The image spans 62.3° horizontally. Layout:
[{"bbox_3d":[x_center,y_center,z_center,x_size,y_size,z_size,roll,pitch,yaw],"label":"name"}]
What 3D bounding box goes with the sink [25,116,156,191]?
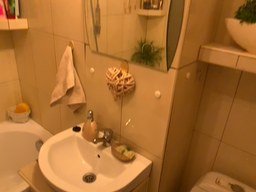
[{"bbox_3d":[-0.180,0.320,0.990,0.500,0.160,0.330,23,31,32],"label":"sink"}]
